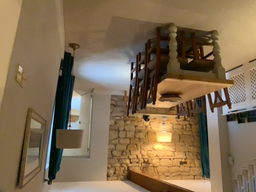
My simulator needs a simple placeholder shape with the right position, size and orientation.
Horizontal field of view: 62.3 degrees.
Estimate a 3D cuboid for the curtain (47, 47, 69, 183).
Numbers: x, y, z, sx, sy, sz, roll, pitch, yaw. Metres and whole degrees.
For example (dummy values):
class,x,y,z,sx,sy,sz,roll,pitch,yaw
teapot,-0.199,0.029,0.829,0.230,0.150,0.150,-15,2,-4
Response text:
class,x,y,z,sx,sy,sz,roll,pitch,yaw
curtain,-1.190,0.280,3.650,0.170,2.200,0.420,4,168,-17
